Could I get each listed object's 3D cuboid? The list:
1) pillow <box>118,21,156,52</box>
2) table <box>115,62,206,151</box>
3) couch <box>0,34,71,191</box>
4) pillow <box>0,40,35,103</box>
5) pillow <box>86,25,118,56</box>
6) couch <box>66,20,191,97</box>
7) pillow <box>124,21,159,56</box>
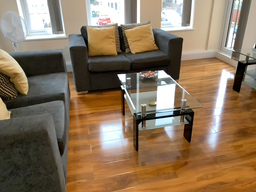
[{"bbox_3d":[0.130,-0.910,3.290,0.510,0.430,0.170,-7,58,-11],"label":"pillow"},{"bbox_3d":[0.250,0.030,2.230,0.600,0.450,0.970,-7,28,-11],"label":"table"},{"bbox_3d":[-1.080,0.060,1.850,1.020,0.790,1.880,-7,28,-11],"label":"couch"},{"bbox_3d":[-1.070,-0.250,2.060,0.200,0.360,0.510,-9,45,-13],"label":"pillow"},{"bbox_3d":[-0.370,-0.800,3.070,0.420,0.420,0.140,-5,51,-10],"label":"pillow"},{"bbox_3d":[-0.050,-0.650,3.230,1.570,0.790,1.010,-6,27,-10],"label":"couch"},{"bbox_3d":[0.190,-0.860,3.190,0.450,0.420,0.160,-16,60,-17],"label":"pillow"}]
